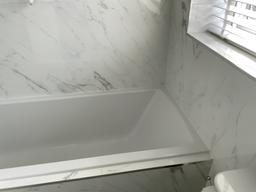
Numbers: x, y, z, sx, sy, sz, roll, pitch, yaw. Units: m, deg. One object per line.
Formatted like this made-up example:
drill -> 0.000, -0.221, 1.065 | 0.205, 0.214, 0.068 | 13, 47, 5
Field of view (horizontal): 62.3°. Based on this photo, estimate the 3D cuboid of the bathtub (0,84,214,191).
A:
bathtub -> -0.440, 0.410, 1.320 | 1.580, 0.570, 0.720 | -5, 32, -8
